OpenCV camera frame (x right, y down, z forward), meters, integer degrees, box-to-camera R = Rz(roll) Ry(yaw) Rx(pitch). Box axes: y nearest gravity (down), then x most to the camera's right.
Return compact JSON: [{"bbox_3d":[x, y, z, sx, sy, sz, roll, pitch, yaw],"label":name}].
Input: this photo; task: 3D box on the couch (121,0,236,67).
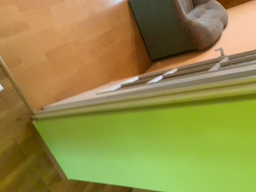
[{"bbox_3d":[1.020,-1.440,3.370,2.450,0.900,0.900,-46,120,-47],"label":"couch"}]
